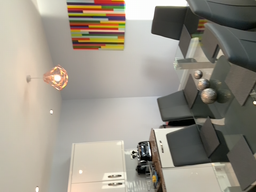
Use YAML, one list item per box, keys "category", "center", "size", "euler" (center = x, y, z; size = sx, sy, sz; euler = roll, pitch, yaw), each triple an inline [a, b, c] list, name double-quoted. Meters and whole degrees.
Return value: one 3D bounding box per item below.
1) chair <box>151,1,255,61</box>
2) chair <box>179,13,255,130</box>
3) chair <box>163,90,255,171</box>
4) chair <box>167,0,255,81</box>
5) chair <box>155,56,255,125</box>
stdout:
- category: "chair"
  center: [0.810, -0.700, 2.300]
  size: [0.410, 0.990, 0.520]
  euler: [95, 171, -46]
- category: "chair"
  center: [0.920, -0.140, 1.310]
  size: [0.550, 1.010, 0.410]
  euler: [95, 171, -46]
- category: "chair"
  center: [0.880, 0.290, 1.800]
  size: [0.550, 1.010, 0.410]
  euler: [96, 171, -47]
- category: "chair"
  center: [0.880, -0.450, 1.630]
  size: [0.530, 1.000, 0.400]
  euler: [95, 171, -46]
- category: "chair"
  center: [0.840, -0.050, 2.100]
  size: [0.540, 1.000, 0.400]
  euler: [96, 171, -47]
